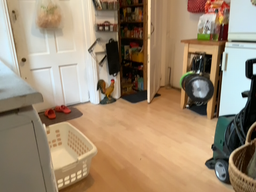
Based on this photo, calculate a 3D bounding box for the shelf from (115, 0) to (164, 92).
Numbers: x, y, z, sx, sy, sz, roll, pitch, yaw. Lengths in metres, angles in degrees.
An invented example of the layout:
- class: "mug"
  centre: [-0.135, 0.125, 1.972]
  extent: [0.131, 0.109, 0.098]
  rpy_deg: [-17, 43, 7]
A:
- class: "shelf"
  centre: [0.190, -1.060, 3.770]
  extent: [0.370, 1.800, 0.850]
  rpy_deg: [-14, 23, -33]
